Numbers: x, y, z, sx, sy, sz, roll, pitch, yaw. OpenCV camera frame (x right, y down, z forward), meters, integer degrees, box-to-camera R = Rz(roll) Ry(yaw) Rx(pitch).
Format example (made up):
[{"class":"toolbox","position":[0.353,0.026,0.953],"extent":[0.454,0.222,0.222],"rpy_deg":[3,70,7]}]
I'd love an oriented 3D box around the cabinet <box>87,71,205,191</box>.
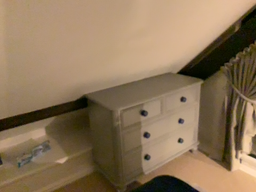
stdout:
[{"class":"cabinet","position":[0.200,0.270,1.950],"extent":[0.980,0.780,0.390],"rpy_deg":[-16,23,-31]}]
